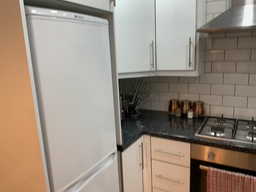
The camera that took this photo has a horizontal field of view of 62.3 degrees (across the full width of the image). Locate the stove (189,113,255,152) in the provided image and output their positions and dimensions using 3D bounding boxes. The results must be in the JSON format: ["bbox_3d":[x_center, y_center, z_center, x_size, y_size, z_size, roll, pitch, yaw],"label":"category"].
[{"bbox_3d":[0.850,0.270,1.650,0.610,0.050,0.560,5,14,29],"label":"stove"}]
